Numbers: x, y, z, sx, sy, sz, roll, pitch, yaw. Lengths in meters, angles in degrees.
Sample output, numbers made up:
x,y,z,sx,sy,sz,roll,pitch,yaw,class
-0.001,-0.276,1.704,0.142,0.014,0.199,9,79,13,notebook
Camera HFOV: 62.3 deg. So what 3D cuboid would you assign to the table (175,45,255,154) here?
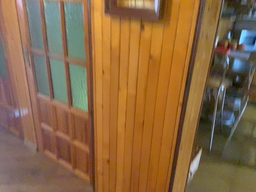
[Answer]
x,y,z,sx,sy,sz,roll,pitch,yaw,class
1.490,0.060,2.540,1.580,1.030,0.560,18,28,29,table
